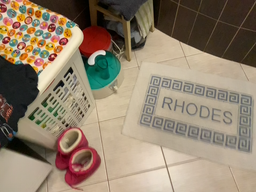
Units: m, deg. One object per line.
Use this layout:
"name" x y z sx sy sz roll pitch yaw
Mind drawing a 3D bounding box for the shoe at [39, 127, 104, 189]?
"shoe" -0.260 0.300 1.020 0.190 0.150 0.200 32 71 15

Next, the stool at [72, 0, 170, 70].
"stool" -0.020 -0.490 1.170 0.370 0.500 0.370 29 70 14
